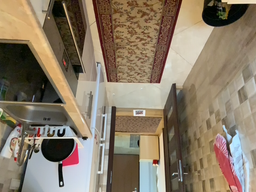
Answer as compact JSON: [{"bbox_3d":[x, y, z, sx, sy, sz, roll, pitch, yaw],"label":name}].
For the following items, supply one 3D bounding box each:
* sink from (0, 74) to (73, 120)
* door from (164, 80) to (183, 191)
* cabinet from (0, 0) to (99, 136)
[{"bbox_3d":[-0.660,0.020,1.480,0.460,0.180,0.350,2,155,-1],"label":"sink"},{"bbox_3d":[0.590,0.860,2.760,0.090,2.010,0.780,-1,155,6],"label":"door"},{"bbox_3d":[-0.620,-0.260,1.800,0.590,0.970,0.900,2,155,-1],"label":"cabinet"}]
